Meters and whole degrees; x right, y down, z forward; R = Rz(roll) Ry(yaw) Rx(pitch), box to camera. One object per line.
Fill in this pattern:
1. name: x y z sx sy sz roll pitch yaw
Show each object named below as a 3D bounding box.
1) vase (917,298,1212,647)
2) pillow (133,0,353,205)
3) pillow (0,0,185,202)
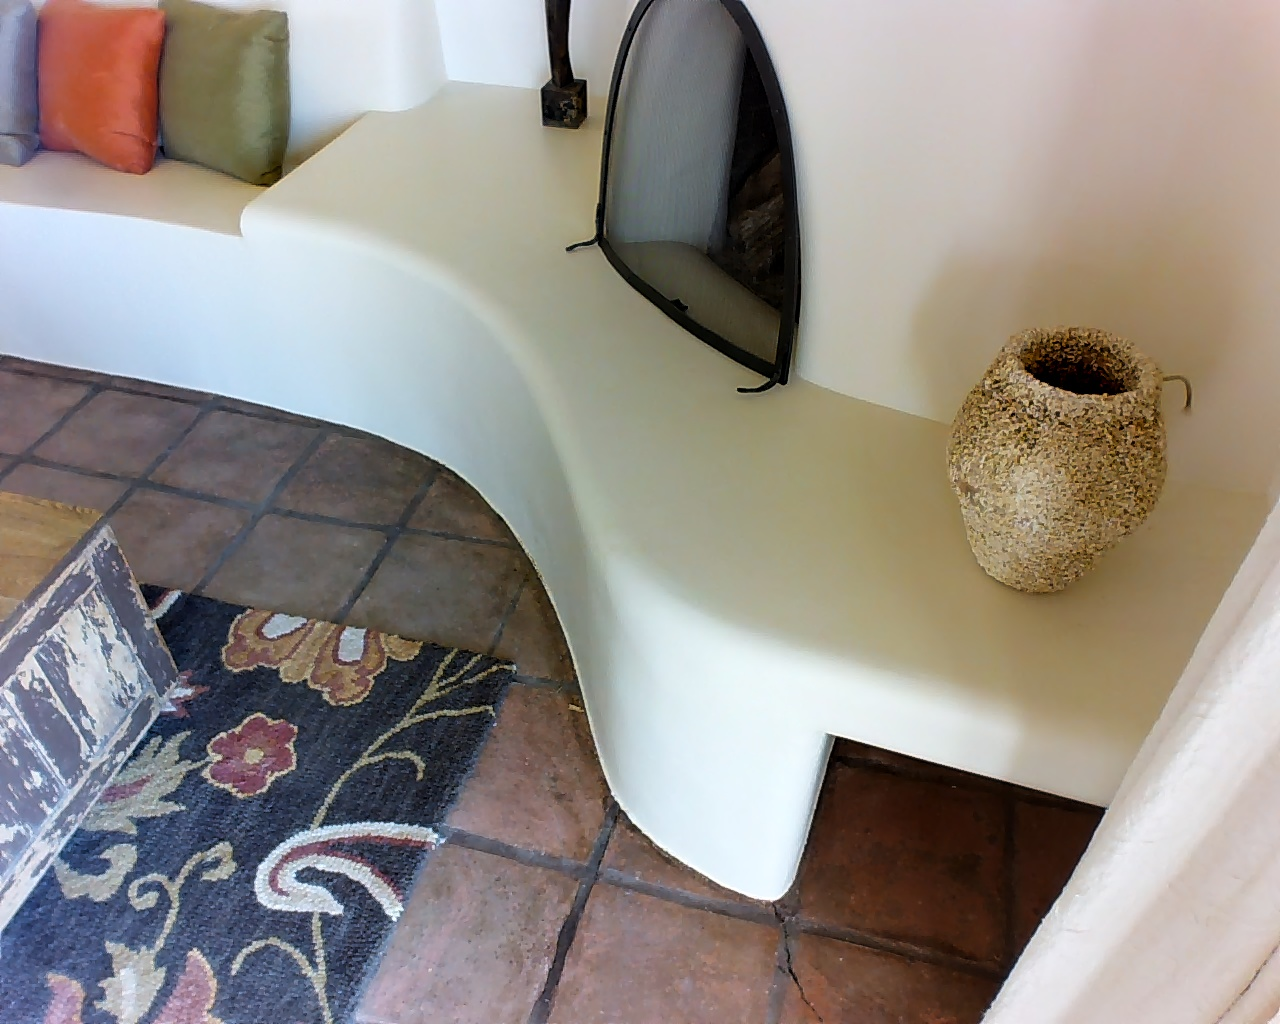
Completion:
1. vase: 0.500 -0.050 1.310 0.250 0.310 0.240 10 43 12
2. pillow: -0.960 -1.010 2.570 0.430 0.330 0.260 37 39 17
3. pillow: -1.330 -1.030 2.610 0.390 0.370 0.200 33 42 20
